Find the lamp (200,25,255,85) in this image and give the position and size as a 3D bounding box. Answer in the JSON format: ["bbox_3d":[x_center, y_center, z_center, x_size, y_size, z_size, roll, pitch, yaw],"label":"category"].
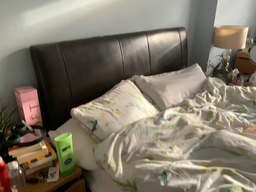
[{"bbox_3d":[1.030,-0.450,2.230,0.320,0.530,0.340,-21,31,-40],"label":"lamp"}]
